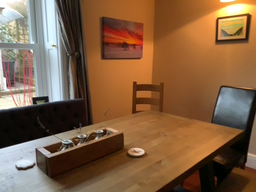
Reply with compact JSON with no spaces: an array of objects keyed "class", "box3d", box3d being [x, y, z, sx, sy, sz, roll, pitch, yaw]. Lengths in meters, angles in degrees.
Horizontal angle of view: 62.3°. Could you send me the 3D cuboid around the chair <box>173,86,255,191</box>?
[{"class":"chair","box3d":[0.850,0.450,2.080,0.640,1.010,0.450,-8,13,-36]}]
